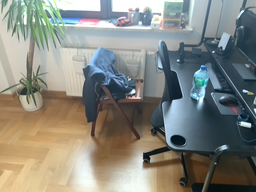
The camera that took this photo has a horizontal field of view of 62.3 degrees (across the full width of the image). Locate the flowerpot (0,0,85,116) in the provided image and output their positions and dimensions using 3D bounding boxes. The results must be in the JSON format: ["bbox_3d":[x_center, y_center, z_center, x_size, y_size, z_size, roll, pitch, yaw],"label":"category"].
[{"bbox_3d":[-0.910,-0.600,2.250,0.610,1.470,0.540,-16,37,-25],"label":"flowerpot"}]

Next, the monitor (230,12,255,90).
[{"bbox_3d":[0.830,-0.320,1.420,0.030,0.350,0.540,4,33,4],"label":"monitor"}]

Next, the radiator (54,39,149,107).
[{"bbox_3d":[-0.270,-0.250,2.400,0.970,0.700,0.170,4,33,4],"label":"radiator"}]
